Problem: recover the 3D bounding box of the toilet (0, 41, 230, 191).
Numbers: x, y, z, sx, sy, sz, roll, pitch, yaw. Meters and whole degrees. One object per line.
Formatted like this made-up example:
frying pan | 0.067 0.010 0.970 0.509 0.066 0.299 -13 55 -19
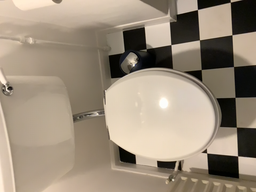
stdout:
toilet | -0.020 0.100 0.870 0.720 0.870 0.470 -1 98 29
